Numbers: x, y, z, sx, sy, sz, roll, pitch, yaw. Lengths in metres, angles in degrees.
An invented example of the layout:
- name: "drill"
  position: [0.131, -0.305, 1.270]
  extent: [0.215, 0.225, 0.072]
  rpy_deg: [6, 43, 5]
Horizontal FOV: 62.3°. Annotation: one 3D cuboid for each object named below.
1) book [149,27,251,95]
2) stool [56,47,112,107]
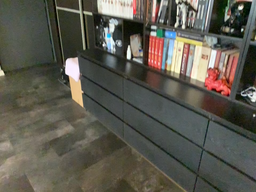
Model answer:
- name: "book"
  position: [0.490, -0.300, 1.610]
  extent: [0.200, 0.310, 0.690]
  rpy_deg: [-22, 36, -36]
- name: "stool"
  position: [-0.580, -0.280, 2.870]
  extent: [0.500, 0.570, 0.530]
  rpy_deg: [-21, 35, -35]
